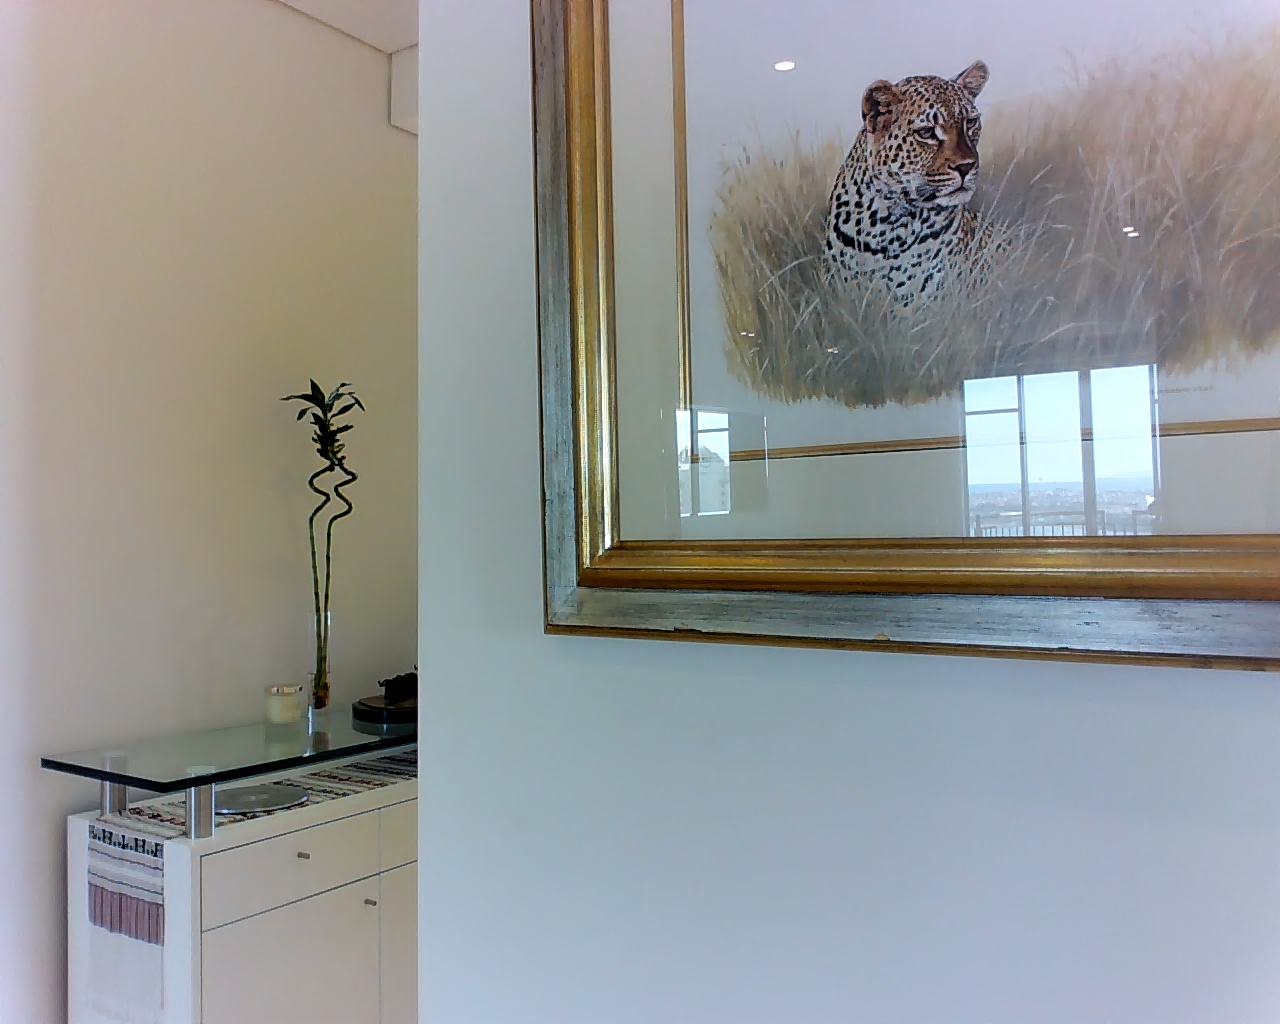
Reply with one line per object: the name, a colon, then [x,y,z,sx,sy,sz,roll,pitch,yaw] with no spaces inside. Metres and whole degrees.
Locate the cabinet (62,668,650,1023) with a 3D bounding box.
cabinet: [-0.550,0.940,2.520,0.460,0.970,1.360,-1,-1,34]
